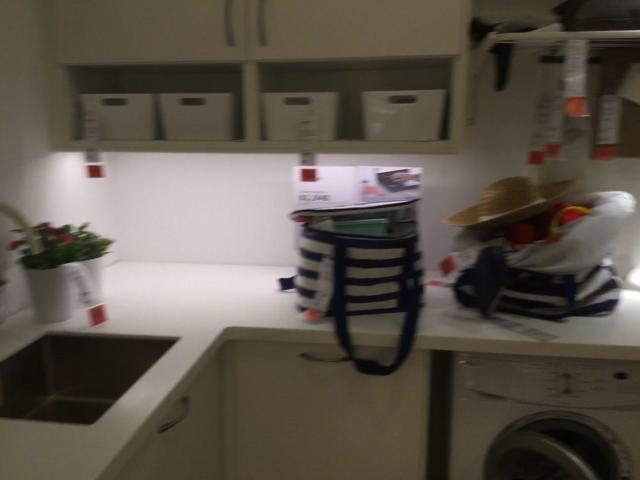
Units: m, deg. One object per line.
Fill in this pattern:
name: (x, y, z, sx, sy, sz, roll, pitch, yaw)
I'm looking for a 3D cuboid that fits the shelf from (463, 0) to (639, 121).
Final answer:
shelf: (1.050, -0.710, 1.520, 1.290, 0.540, 0.400, -8, 9, 16)
